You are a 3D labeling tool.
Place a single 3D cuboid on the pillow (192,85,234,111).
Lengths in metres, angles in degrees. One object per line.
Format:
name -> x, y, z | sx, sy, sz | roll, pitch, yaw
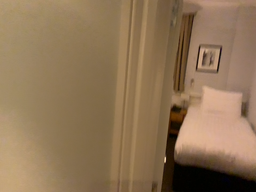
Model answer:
pillow -> 1.460, 0.030, 3.690 | 0.650, 0.360, 0.120 | 7, 30, 27
